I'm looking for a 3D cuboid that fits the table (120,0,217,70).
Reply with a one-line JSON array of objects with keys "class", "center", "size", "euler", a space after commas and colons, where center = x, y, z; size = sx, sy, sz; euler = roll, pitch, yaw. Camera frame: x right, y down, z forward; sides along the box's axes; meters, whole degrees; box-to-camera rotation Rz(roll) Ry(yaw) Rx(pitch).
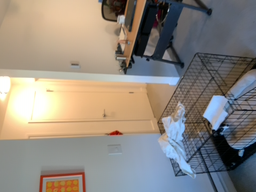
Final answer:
[{"class": "table", "center": [0.440, -0.940, 2.660], "size": [1.170, 0.820, 0.460], "euler": [108, 157, -45]}]
